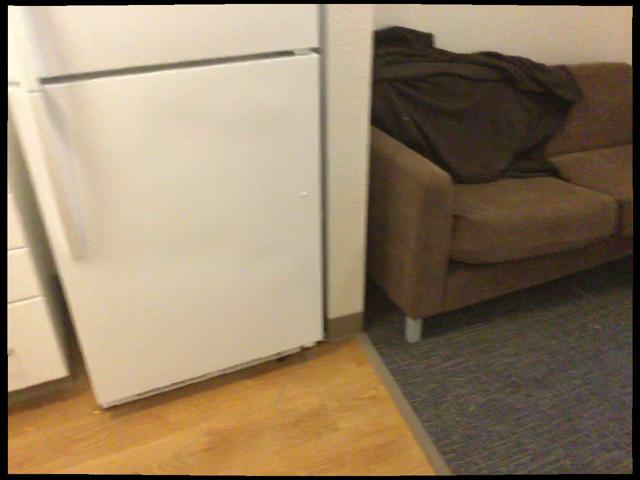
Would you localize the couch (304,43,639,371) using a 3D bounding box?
[{"bbox_3d":[0.898,-0.260,2.410,1.707,0.751,0.930,-11,34,-18],"label":"couch"}]

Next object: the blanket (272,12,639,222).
[{"bbox_3d":[0.549,-0.551,2.340,1.358,0.521,0.560,-11,34,-18],"label":"blanket"}]
